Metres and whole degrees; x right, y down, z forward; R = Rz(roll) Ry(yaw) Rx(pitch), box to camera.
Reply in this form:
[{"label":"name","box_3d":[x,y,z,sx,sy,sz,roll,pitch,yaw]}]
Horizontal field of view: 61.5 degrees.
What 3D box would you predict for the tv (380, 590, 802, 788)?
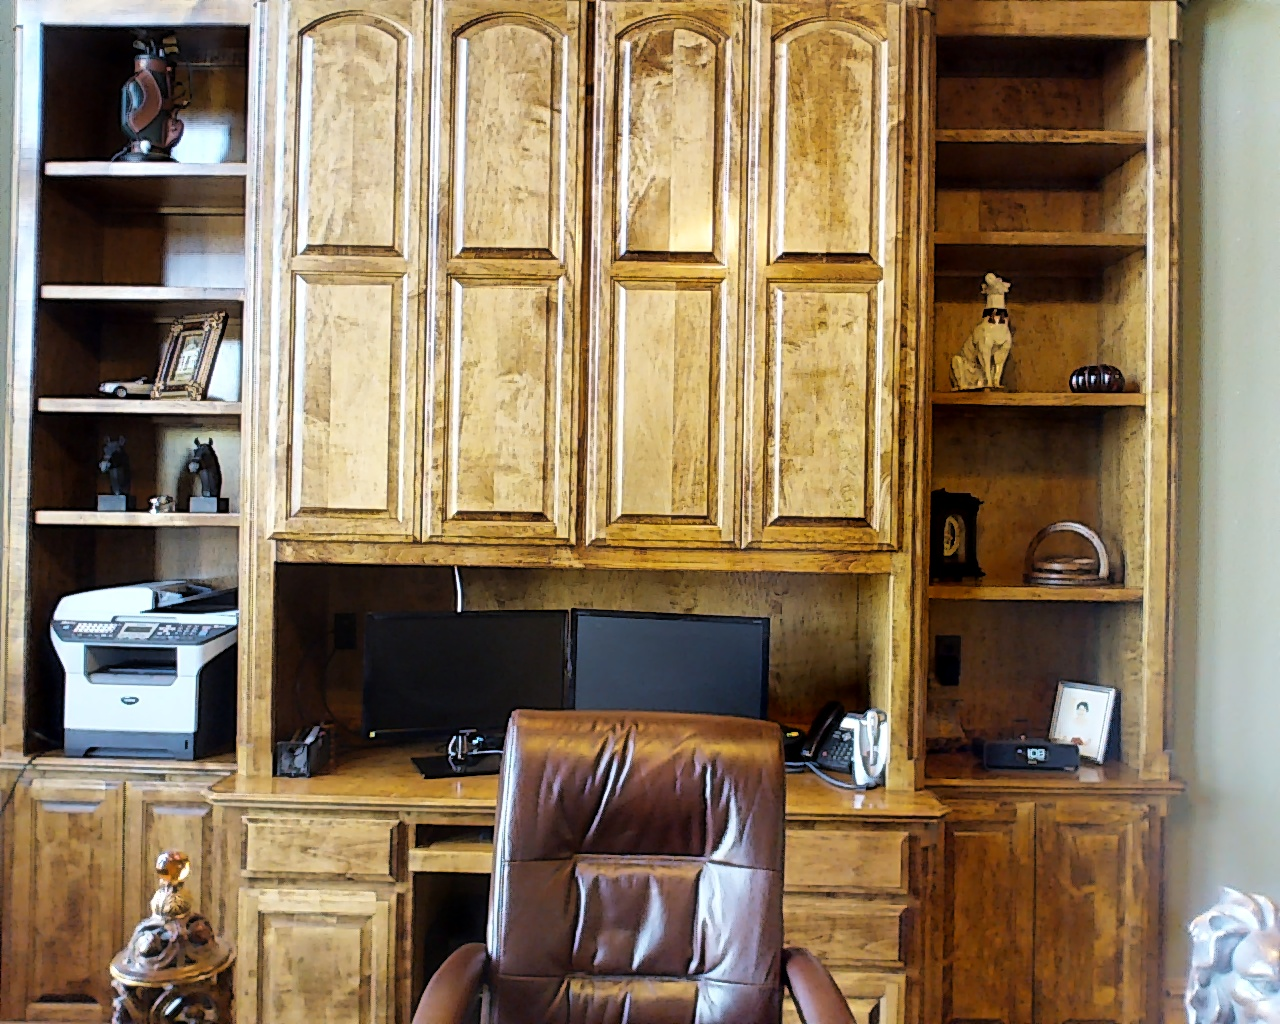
[{"label":"tv","box_3d":[-0.130,0.480,2.990,1.120,0.490,0.240,1,-1,1]}]
